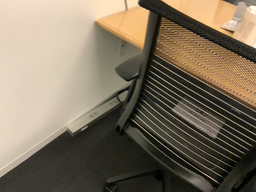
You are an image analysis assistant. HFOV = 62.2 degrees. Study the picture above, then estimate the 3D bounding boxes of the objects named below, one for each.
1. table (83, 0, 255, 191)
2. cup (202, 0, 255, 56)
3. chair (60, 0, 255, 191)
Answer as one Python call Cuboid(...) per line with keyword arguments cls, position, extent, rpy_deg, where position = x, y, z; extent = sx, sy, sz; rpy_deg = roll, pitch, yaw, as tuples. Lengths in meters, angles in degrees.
Cuboid(cls="table", position=(0.660, -0.140, 1.530), extent=(1.280, 0.810, 1.400), rpy_deg=(33, 46, 19))
Cuboid(cls="cup", position=(0.780, -0.430, 1.240), extent=(0.470, 0.180, 0.510), rpy_deg=(34, 46, 21))
Cuboid(cls="chair", position=(0.260, 0.090, 1.010), extent=(0.810, 1.040, 0.730), rpy_deg=(33, 45, 19))
